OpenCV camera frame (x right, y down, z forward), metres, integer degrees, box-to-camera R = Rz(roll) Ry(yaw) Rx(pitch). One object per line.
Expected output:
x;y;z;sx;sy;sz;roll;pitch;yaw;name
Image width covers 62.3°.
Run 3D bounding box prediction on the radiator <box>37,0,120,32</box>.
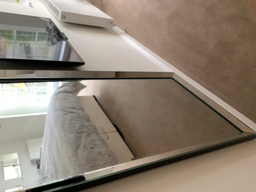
-0.700;-1.130;2.730;1.220;0.690;0.140;48;131;44;radiator
